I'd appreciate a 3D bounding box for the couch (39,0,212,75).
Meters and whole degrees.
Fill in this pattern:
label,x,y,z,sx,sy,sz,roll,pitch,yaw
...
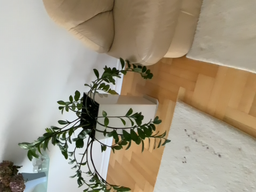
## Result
label,x,y,z,sx,sy,sz,roll,pitch,yaw
couch,-0.060,-0.650,1.520,0.860,0.870,0.760,32,116,50
